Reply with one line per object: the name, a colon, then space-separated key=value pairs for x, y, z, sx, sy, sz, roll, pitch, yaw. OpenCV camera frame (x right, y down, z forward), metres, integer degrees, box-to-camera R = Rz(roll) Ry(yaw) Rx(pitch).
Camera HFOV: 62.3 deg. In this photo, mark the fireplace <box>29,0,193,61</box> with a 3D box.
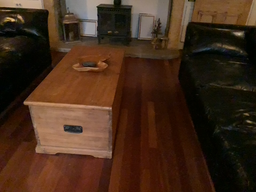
fireplace: x=-0.230 y=-1.540 z=3.300 sx=2.260 sy=1.580 sz=0.910 roll=4 pitch=31 yaw=3
